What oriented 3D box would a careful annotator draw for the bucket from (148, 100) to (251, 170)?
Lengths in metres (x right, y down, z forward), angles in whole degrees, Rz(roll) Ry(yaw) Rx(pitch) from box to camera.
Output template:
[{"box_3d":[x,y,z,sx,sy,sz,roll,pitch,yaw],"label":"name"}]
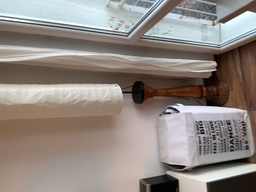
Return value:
[{"box_3d":[0.560,0.280,1.700,0.370,0.670,0.450,161,107,-64],"label":"bucket"}]
